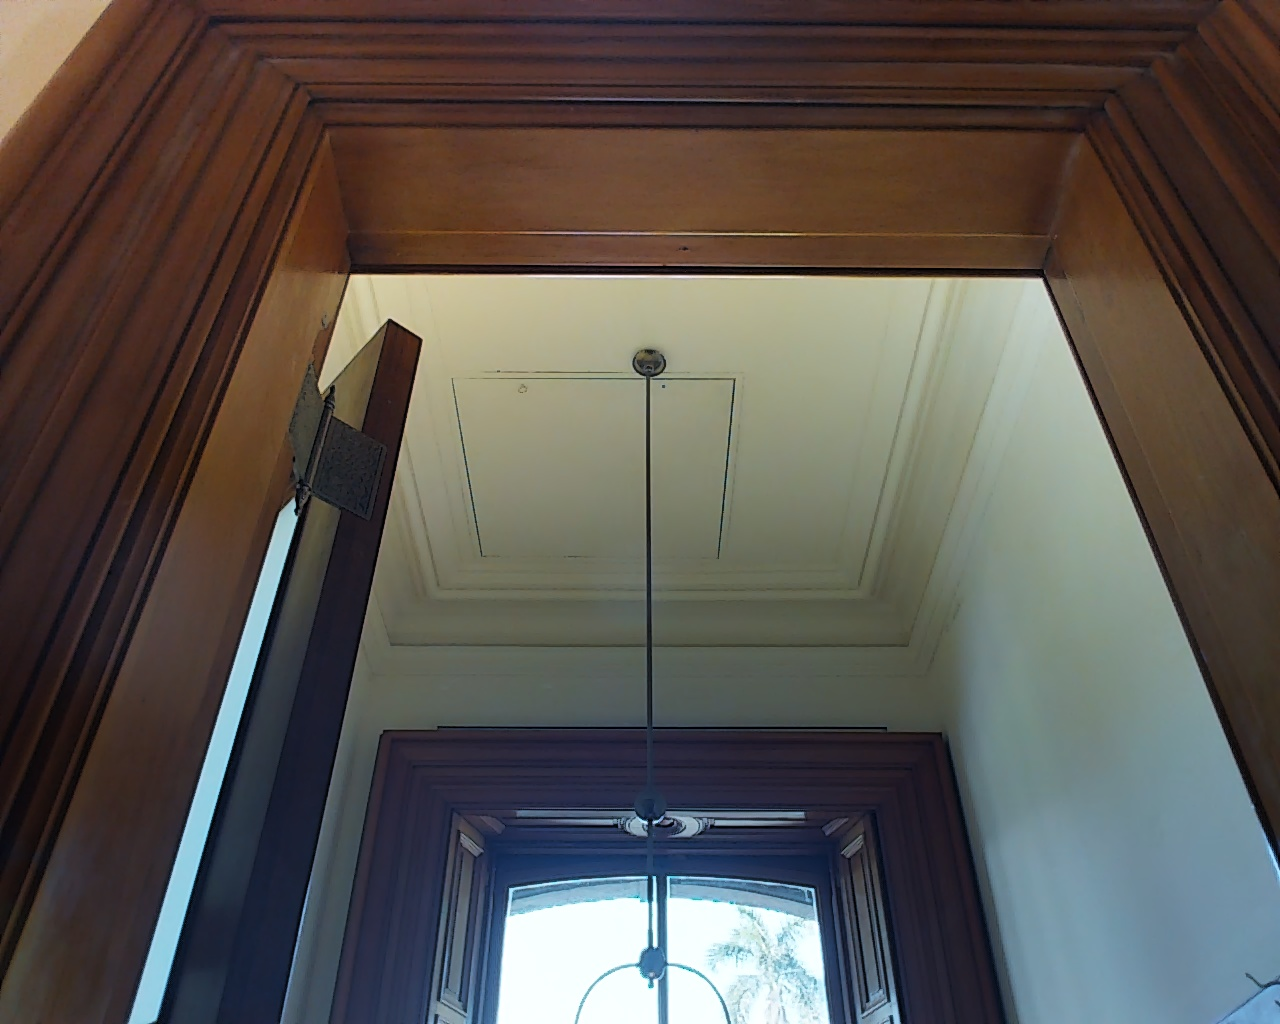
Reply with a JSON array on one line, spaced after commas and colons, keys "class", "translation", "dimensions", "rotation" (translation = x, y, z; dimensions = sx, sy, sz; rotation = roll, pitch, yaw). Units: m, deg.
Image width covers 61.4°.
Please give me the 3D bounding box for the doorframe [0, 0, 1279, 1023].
[{"class": "doorframe", "translation": [0.100, 0.520, 0.600], "dimensions": [1.339, 3.031, 0.380], "rotation": [0, -42, 1]}]
